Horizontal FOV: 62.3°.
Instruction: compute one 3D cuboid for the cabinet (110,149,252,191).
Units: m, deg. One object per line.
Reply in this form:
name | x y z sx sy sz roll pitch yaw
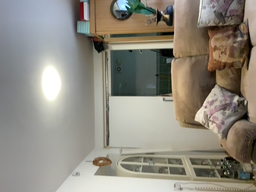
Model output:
cabinet | 0.690 1.150 3.140 0.850 1.770 0.380 -42 -48 -81
